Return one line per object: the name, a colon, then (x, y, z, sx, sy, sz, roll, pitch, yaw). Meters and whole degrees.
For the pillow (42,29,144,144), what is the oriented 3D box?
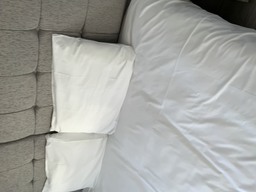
pillow: (-0.240, 0.000, 1.280, 0.120, 0.460, 0.680, -109, 33, -52)

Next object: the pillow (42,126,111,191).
pillow: (-0.420, 0.520, 1.650, 0.140, 0.410, 0.640, 61, 140, 46)
